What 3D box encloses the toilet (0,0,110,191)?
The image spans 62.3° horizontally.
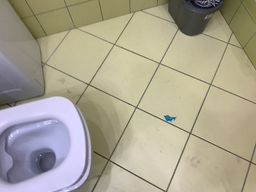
[{"bbox_3d":[-0.470,0.200,0.780,0.630,0.820,0.430,-17,68,-5],"label":"toilet"}]
